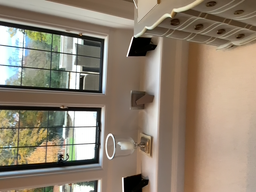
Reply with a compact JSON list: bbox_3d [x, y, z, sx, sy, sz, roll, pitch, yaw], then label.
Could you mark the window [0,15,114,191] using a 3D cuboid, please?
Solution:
[{"bbox_3d":[-0.970,0.360,1.980,0.090,1.660,2.100,3,90,64],"label":"window"}]
